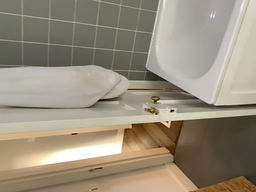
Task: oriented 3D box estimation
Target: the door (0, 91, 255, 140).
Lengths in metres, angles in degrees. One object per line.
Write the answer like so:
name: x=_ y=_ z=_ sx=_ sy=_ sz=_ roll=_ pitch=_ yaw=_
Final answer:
door: x=-0.120 y=0.050 z=1.240 sx=0.750 sy=2.000 sz=0.040 roll=20 pitch=109 yaw=62
